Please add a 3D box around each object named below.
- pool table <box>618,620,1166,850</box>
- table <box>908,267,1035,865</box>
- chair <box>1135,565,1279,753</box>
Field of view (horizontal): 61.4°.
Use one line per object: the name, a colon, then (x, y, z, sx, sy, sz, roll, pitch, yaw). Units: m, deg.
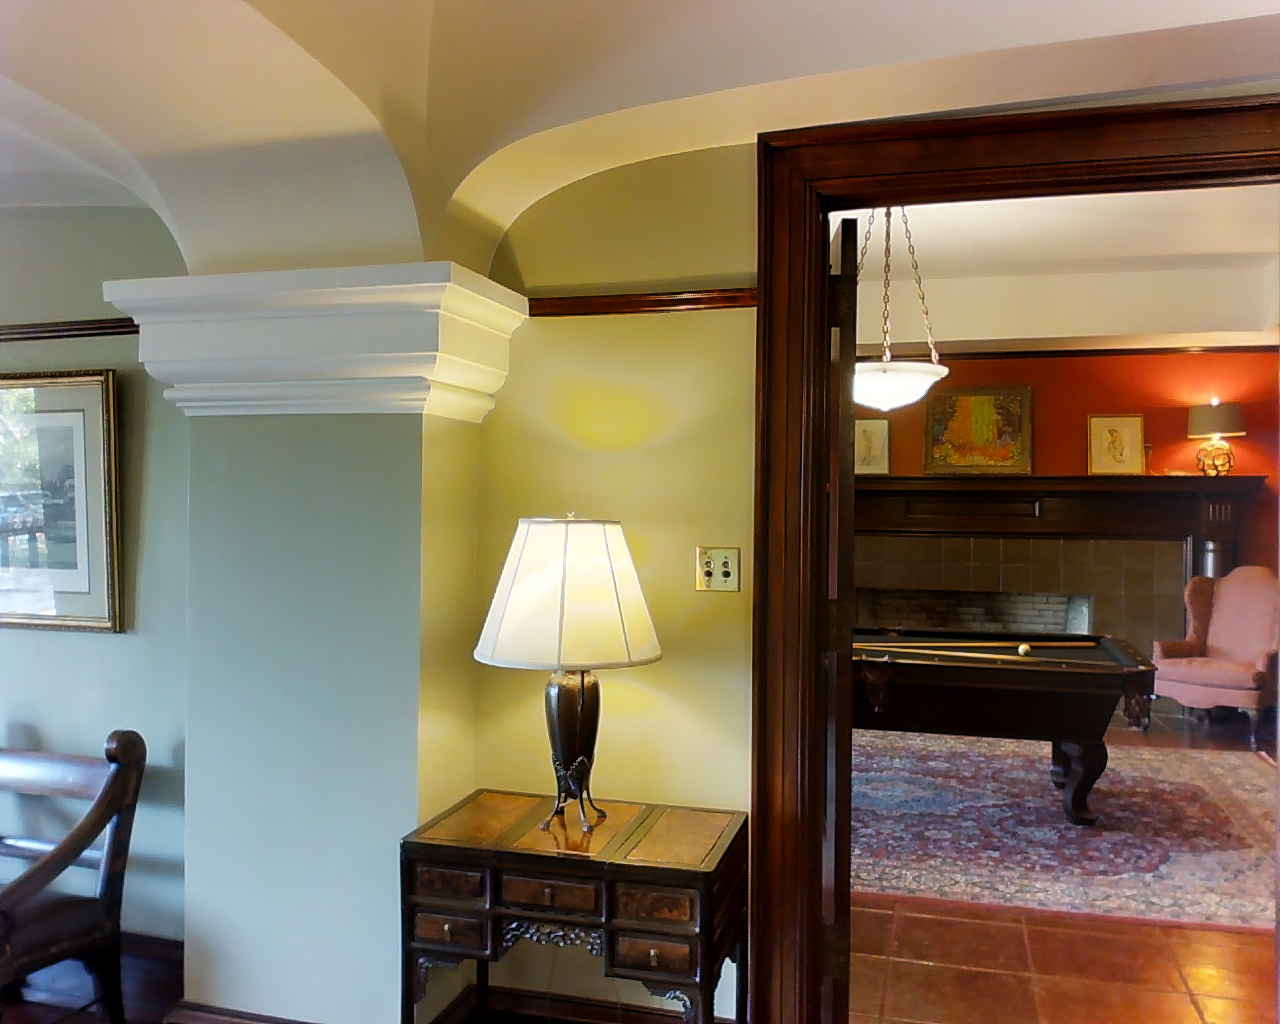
pool table: (1.300, 1.090, 5.790, 2.530, 0.780, 1.400, 1, 0, 16)
table: (2.580, 0.420, 8.440, 0.800, 4.051, 2.160, 1, -6, 16)
chair: (3.999, 0.950, 7.330, 0.810, 1.120, 0.830, 0, 1, -33)
